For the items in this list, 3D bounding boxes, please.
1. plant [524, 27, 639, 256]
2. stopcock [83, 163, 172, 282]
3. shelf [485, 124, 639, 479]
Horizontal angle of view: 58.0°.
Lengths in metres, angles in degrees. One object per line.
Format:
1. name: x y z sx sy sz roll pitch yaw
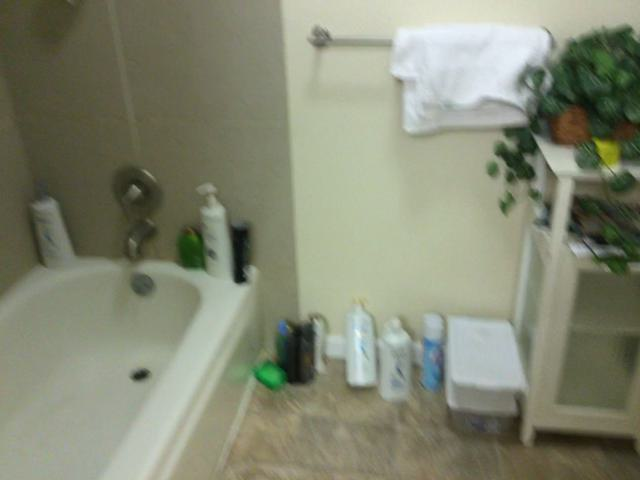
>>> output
1. plant: 0.760 -0.260 1.430 0.380 0.470 0.410 2 24 9
2. stopcock: -0.630 -0.060 1.920 0.170 0.350 0.170 2 24 9
3. shelf: 0.810 0.170 1.600 0.570 0.880 0.470 2 24 9
